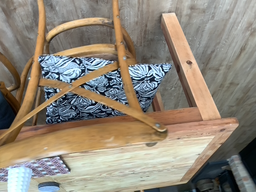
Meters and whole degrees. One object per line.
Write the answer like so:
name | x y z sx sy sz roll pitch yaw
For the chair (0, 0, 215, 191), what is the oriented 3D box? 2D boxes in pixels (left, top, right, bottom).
chair | -0.120 -0.120 0.900 0.500 0.890 0.520 -8 146 -4
